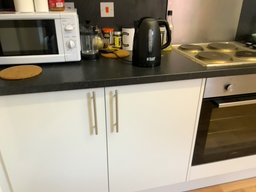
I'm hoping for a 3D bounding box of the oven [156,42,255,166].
[{"bbox_3d":[0.600,0.000,1.510,0.580,0.630,0.590,-5,27,-13],"label":"oven"}]
